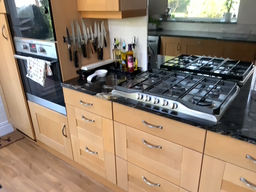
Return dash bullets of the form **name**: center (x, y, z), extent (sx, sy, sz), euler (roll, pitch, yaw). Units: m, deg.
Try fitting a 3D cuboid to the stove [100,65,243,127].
- **stove**: center (0.290, -0.060, 1.380), extent (0.730, 0.050, 0.590), euler (15, 28, 33)
